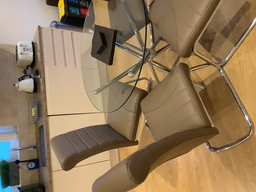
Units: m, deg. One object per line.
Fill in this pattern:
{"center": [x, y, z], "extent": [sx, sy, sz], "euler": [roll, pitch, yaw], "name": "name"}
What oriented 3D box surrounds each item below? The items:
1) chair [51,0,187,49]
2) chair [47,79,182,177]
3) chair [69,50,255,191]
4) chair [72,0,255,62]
{"center": [-0.070, -0.780, 1.720], "extent": [0.430, 0.980, 0.570], "euler": [-19, 75, 55], "name": "chair"}
{"center": [-0.100, 0.190, 1.770], "extent": [0.430, 0.990, 0.570], "euler": [24, 111, 54], "name": "chair"}
{"center": [0.250, 0.150, 1.240], "extent": [0.460, 0.980, 0.570], "euler": [-48, 52, 46], "name": "chair"}
{"center": [0.290, -0.580, 1.150], "extent": [0.570, 0.980, 0.440], "euler": [-60, 45, 39], "name": "chair"}
